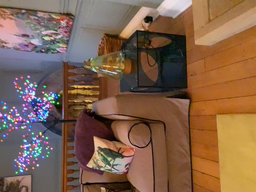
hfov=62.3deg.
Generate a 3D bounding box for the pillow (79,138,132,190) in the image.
[{"bbox_3d":[-0.200,0.610,1.940,0.110,0.360,0.420,41,115,29],"label":"pillow"}]
